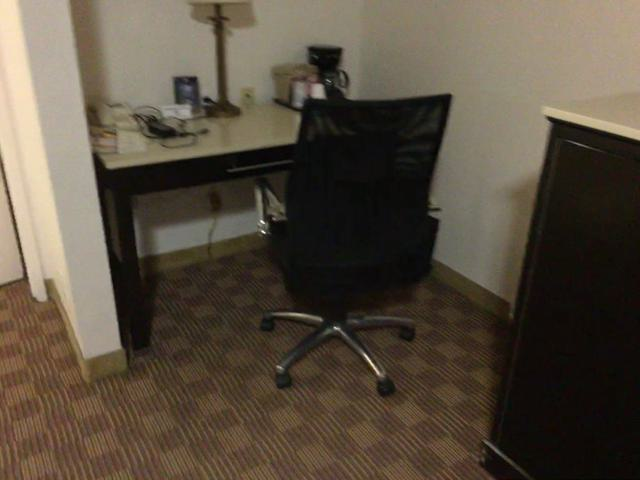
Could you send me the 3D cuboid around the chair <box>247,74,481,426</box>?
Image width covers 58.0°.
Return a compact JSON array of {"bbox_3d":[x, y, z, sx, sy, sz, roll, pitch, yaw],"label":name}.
[{"bbox_3d":[0.080,-0.010,1.990,0.620,1.030,0.630,-2,21,-7],"label":"chair"}]
